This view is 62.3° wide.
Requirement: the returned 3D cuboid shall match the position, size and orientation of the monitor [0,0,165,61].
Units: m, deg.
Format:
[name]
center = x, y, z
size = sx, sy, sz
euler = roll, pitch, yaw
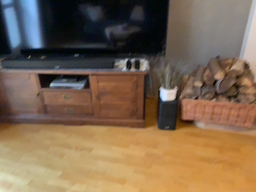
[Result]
[monitor]
center = -0.520, -0.790, 1.830
size = 1.660, 0.980, 0.090
euler = 0, 29, 2
